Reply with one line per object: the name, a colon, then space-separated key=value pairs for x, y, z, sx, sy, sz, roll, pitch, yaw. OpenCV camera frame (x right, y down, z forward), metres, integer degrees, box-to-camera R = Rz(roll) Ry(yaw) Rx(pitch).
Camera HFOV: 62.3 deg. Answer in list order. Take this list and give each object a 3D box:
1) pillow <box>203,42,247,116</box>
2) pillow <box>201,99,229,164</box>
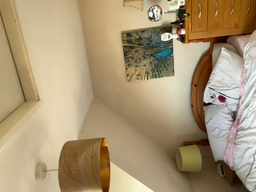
pillow: x=1.040 y=-0.210 z=2.350 sx=0.500 sy=0.220 sz=0.690 roll=-90 pitch=-5 yaw=-69
pillow: x=1.060 y=0.430 z=2.630 sx=0.390 sy=0.160 sz=0.690 roll=-90 pitch=-5 yaw=-70
